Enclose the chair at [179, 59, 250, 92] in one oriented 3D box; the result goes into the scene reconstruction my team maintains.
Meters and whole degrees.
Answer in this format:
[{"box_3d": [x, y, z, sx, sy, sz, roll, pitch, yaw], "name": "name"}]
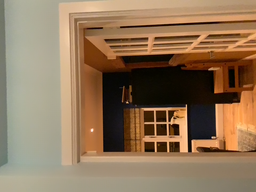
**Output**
[{"box_3d": [1.370, -0.320, 3.460, 0.420, 0.980, 0.470, -1, -91, -86], "name": "chair"}]
